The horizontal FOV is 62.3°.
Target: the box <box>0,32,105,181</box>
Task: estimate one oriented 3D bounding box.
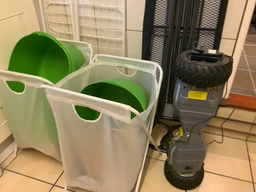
[{"bbox_3d":[-0.480,0.020,1.280,0.430,0.590,0.600,10,36,15],"label":"box"}]

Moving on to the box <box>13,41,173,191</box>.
[{"bbox_3d":[-0.090,0.140,1.080,0.490,0.630,0.540,10,36,15],"label":"box"}]
